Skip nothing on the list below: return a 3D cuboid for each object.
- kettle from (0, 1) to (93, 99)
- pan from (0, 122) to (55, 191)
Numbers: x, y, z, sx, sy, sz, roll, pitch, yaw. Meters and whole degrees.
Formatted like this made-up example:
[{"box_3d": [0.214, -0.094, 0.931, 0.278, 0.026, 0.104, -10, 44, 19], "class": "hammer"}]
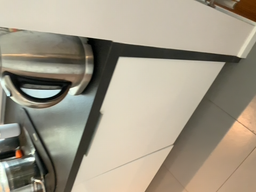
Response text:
[{"box_3d": [-0.250, -0.120, 0.580, 0.150, 0.220, 0.190, 45, 125, 34], "class": "kettle"}, {"box_3d": [-0.500, 0.360, 0.980, 0.290, 0.140, 0.360, 50, 127, 31], "class": "pan"}]
